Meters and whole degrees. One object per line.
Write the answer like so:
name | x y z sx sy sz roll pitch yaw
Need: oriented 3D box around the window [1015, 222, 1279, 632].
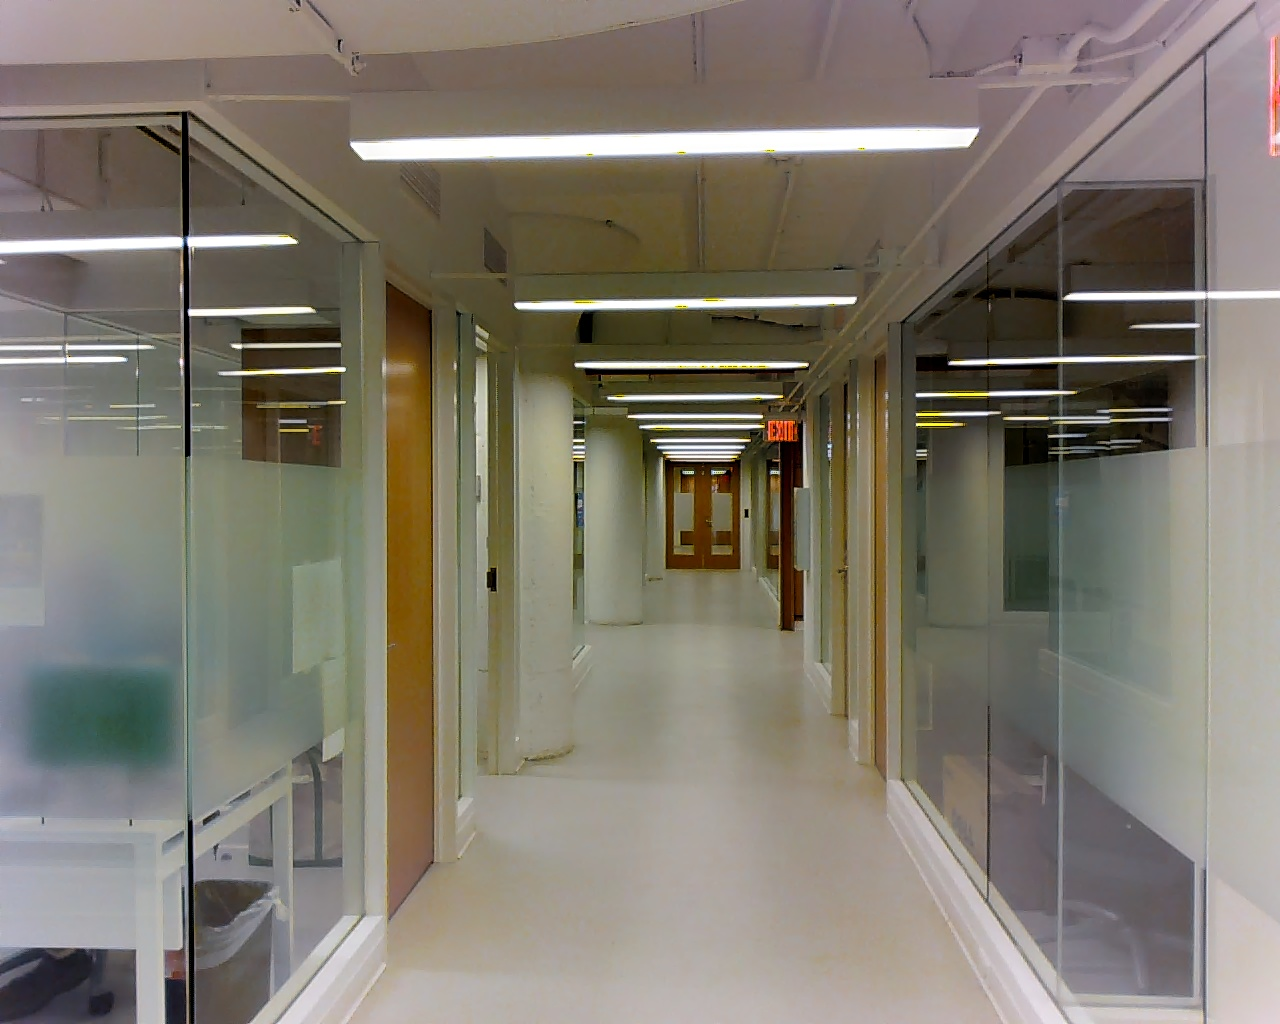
window | 3.549 -0.450 5.780 2.939 2.170 0.230 0 0 3

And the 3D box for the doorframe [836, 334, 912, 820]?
doorframe | 1.170 0.300 5.440 0.220 2.240 0.990 0 0 3

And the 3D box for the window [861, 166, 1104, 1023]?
window | 1.090 0.290 3.830 0.230 2.291 2.360 0 0 3
